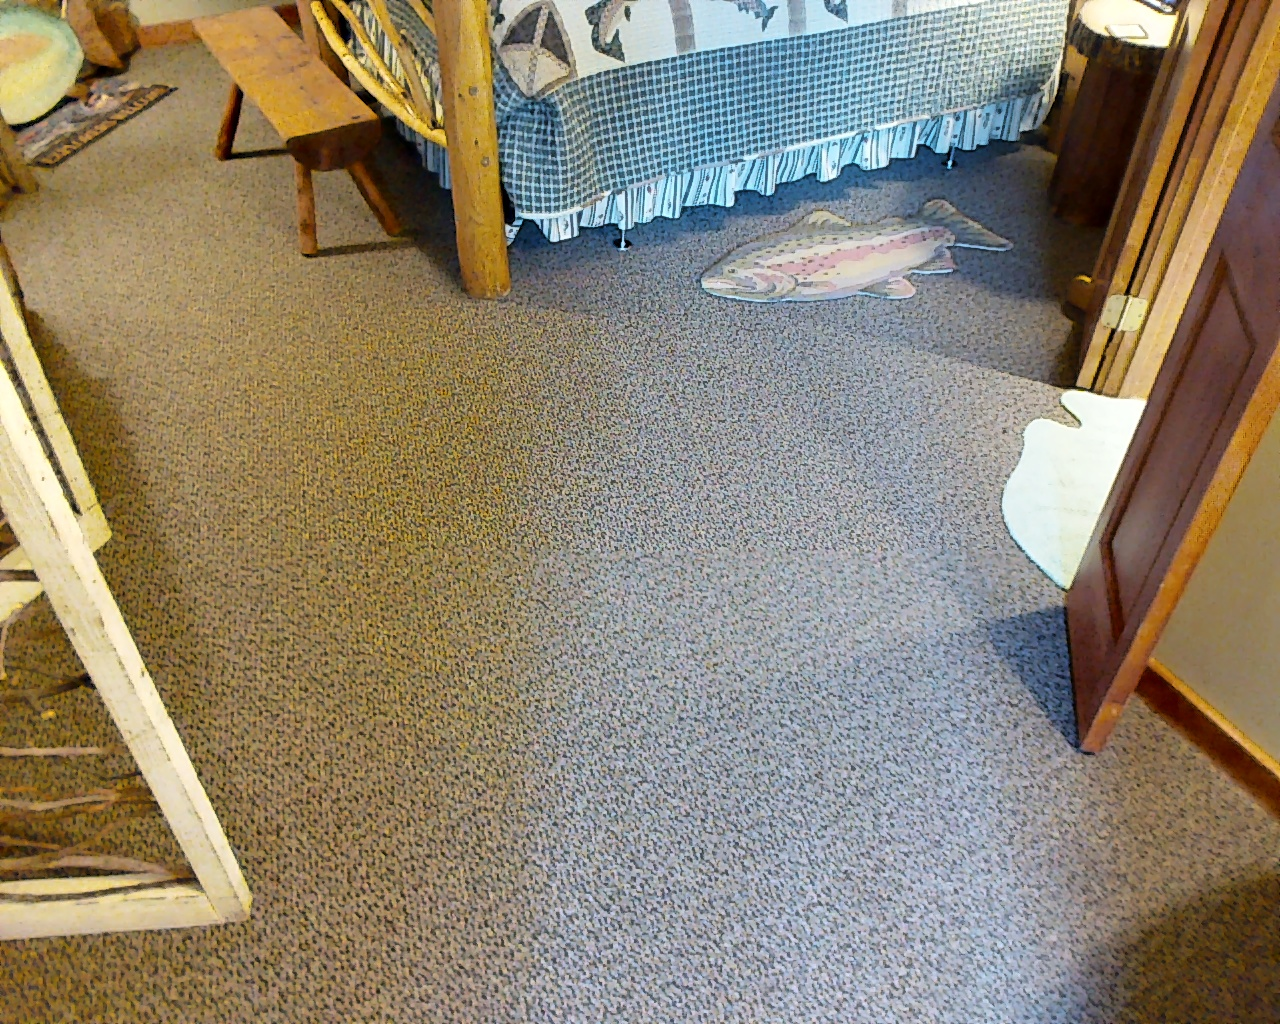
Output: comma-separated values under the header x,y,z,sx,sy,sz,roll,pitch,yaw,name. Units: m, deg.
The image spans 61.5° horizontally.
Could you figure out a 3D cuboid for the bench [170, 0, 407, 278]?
x,y,z,sx,sy,sz,roll,pitch,yaw,name
-1.120,-1.220,3.370,0.340,0.420,1.160,-20,46,-22,bench
